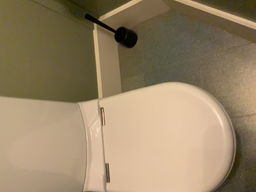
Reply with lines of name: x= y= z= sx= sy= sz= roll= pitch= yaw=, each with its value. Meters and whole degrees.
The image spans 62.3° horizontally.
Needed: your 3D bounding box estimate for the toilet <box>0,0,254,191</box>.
toilet: x=0.000 y=0.160 z=0.740 sx=0.660 sy=0.840 sz=0.400 roll=-8 pitch=81 yaw=34
